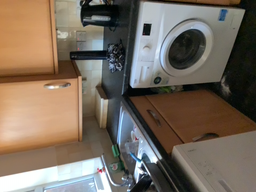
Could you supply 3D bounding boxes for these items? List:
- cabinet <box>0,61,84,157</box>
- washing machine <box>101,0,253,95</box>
[{"bbox_3d":[-0.900,0.100,1.760,0.410,0.990,0.630,-126,36,-52],"label":"cabinet"},{"bbox_3d":[0.320,-0.480,1.780,0.680,0.910,0.610,-126,36,-52],"label":"washing machine"}]
